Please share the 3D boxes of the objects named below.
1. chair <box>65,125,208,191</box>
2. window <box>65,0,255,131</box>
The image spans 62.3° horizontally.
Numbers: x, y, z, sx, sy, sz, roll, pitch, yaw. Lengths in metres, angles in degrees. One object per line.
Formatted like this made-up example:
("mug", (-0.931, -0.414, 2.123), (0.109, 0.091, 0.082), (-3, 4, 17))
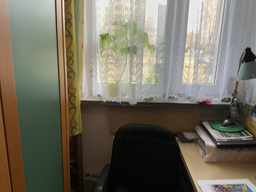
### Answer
("chair", (0.070, 0.730, 1.370), (0.640, 0.810, 0.720), (4, 16, 7))
("window", (0.250, -0.560, 1.400), (1.260, 1.580, 0.240), (1, 15, -1))
